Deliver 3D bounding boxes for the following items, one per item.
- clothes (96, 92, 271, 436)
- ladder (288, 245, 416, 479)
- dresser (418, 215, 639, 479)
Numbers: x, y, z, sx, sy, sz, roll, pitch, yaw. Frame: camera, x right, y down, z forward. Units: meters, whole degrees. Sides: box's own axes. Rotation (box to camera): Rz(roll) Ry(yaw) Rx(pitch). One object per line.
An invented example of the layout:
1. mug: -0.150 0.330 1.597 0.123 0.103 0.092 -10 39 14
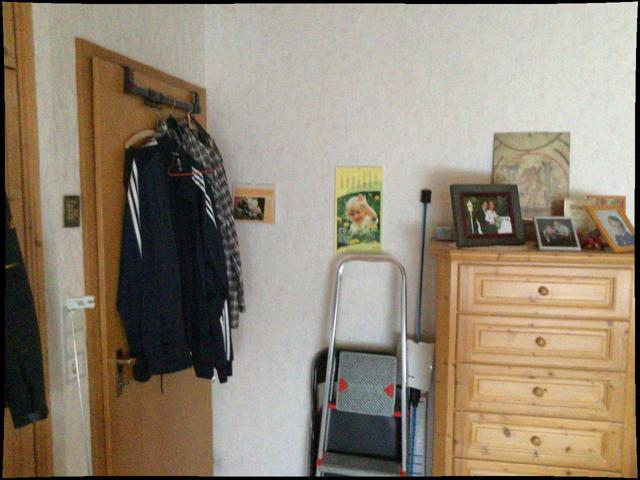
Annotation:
1. clothes: -0.450 0.030 2.220 0.250 1.061 0.910 1 8 11
2. ladder: 0.160 0.691 2.410 0.460 1.281 0.450 0 8 11
3. dresser: 0.799 0.641 2.210 0.819 1.421 0.540 0 8 11
